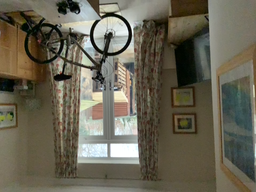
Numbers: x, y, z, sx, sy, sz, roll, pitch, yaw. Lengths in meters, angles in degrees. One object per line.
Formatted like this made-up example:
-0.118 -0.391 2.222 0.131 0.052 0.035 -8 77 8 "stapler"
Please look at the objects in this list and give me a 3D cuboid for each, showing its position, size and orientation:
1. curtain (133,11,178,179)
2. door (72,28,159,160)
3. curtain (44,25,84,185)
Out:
0.460 -0.010 3.560 0.640 2.660 0.300 -2 178 11 "curtain"
-0.270 -0.020 4.190 1.650 2.500 0.130 -2 178 10 "door"
-1.160 0.160 3.880 0.580 2.780 0.290 -2 178 11 "curtain"
